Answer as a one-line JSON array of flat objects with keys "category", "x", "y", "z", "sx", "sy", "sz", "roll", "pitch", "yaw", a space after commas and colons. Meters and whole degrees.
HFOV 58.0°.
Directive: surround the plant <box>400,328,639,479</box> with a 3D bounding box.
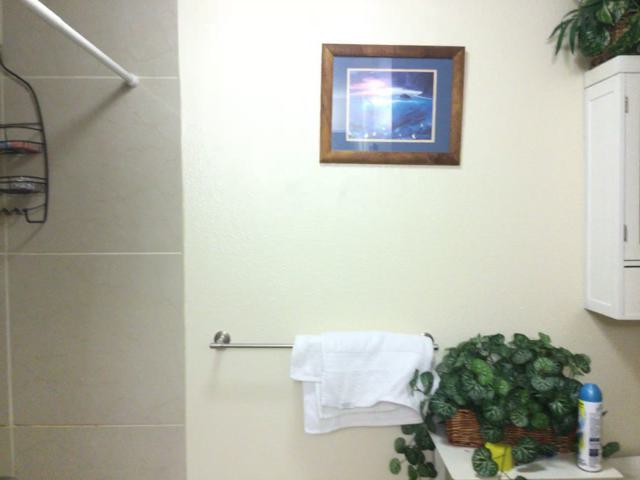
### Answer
[{"category": "plant", "x": 0.480, "y": 0.540, "z": 1.470, "sx": 0.490, "sy": 0.560, "sz": 0.450, "roll": -1, "pitch": 0, "yaw": 1}]
